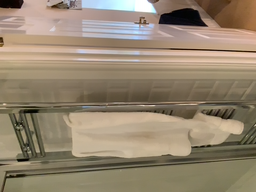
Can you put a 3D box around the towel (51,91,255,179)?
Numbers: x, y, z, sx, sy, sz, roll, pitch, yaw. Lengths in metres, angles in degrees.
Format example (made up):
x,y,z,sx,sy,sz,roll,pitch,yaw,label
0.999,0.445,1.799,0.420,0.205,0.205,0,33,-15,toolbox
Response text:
x,y,z,sx,sy,sz,roll,pitch,yaw,label
0.150,0.190,1.050,0.410,0.950,0.180,102,162,-45,towel
